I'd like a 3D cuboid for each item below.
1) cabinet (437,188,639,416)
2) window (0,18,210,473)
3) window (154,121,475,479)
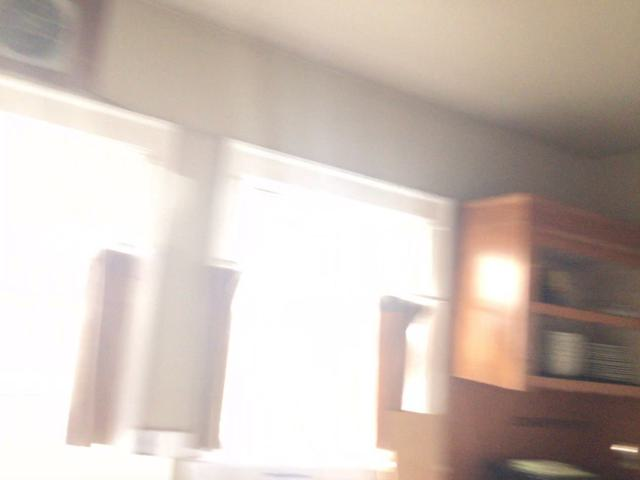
[{"bbox_3d":[1.080,0.320,2.550,0.930,0.790,0.490,14,-14,-23],"label":"cabinet"},{"bbox_3d":[-1.050,-0.020,1.810,1.140,1.300,0.270,14,-14,-23],"label":"window"},{"bbox_3d":[0.050,0.280,2.330,1.150,1.200,0.230,14,-14,-23],"label":"window"}]
